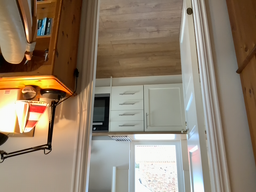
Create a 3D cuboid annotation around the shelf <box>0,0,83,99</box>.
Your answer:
[{"bbox_3d":[-0.790,-0.480,1.420,0.860,0.940,0.310,-2,161,7],"label":"shelf"}]
